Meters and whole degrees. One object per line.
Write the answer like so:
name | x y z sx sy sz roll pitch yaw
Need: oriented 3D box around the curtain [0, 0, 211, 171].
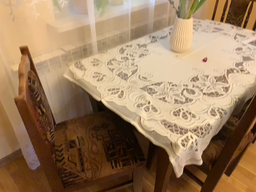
curtain | 0.030 -0.990 1.240 1.880 2.730 0.250 -29 47 -33

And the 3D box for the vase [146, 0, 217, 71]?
vase | 0.310 -0.500 1.170 0.320 0.630 0.200 -28 47 -33
